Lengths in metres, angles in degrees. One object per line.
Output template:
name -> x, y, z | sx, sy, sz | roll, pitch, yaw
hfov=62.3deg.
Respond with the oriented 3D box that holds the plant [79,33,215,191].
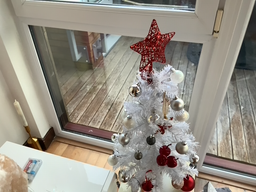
plant -> 0.080, 0.070, 0.790 | 0.350, 0.480, 0.280 | 11, 40, 15
